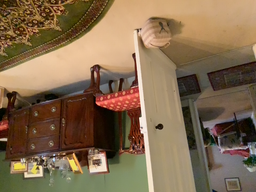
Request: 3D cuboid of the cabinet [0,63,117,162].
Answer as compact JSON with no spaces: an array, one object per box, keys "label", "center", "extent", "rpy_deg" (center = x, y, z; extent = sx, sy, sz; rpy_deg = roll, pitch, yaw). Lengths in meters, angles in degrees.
[{"label":"cabinet","center":[-0.890,0.300,2.740],"extent":[1.330,0.940,0.600],"rpy_deg":[-14,158,26]}]
